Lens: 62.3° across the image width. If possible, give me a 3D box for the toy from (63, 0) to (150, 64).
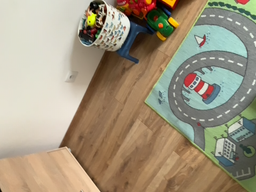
[{"bbox_3d":[-0.120,-0.410,1.320,0.250,0.400,0.280,40,112,28],"label":"toy"}]
